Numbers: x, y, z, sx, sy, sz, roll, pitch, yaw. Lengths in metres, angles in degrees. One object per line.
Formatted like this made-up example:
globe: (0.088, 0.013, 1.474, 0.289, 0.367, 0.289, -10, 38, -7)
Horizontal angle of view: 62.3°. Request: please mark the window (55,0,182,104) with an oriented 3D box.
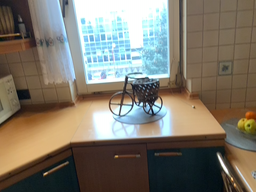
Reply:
window: (-0.070, -0.700, 1.470, 0.860, 1.530, 0.090, -4, 20, 2)
